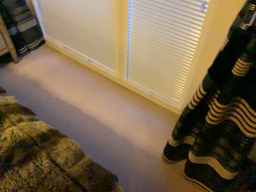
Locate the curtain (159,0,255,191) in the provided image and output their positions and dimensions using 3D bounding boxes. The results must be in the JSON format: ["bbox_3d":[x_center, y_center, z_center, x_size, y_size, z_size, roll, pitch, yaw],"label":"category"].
[{"bbox_3d":[0.440,-0.380,0.430,0.380,2.220,0.240,29,52,23],"label":"curtain"}]
